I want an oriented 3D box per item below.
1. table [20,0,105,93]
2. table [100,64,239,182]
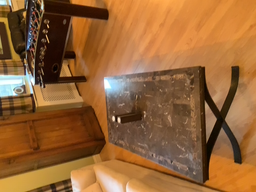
[{"bbox_3d":[-1.150,-0.940,3.400,0.860,0.840,1.640,61,140,29],"label":"table"},{"bbox_3d":[0.260,0.140,1.920,1.230,0.460,0.720,2,97,56],"label":"table"}]
